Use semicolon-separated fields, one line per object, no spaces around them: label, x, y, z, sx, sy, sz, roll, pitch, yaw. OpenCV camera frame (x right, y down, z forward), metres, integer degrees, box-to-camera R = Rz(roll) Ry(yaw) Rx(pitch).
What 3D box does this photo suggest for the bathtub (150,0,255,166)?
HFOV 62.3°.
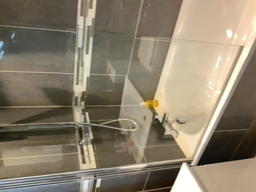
bathtub;0.720;-0.420;1.310;0.690;0.570;1.650;-117;33;-51
